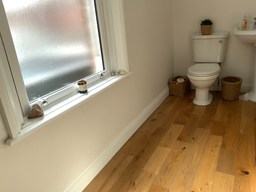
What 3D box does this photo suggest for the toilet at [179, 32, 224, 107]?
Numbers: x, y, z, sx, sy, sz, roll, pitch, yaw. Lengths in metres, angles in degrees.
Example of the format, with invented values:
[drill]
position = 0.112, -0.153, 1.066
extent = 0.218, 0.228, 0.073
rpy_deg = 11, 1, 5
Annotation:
[toilet]
position = 0.950, -0.380, 2.730
extent = 0.400, 0.780, 0.690
rpy_deg = 7, 24, 29

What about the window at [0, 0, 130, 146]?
[window]
position = -0.440, -0.780, 1.280
extent = 0.280, 1.790, 1.090
rpy_deg = 6, 24, 28
